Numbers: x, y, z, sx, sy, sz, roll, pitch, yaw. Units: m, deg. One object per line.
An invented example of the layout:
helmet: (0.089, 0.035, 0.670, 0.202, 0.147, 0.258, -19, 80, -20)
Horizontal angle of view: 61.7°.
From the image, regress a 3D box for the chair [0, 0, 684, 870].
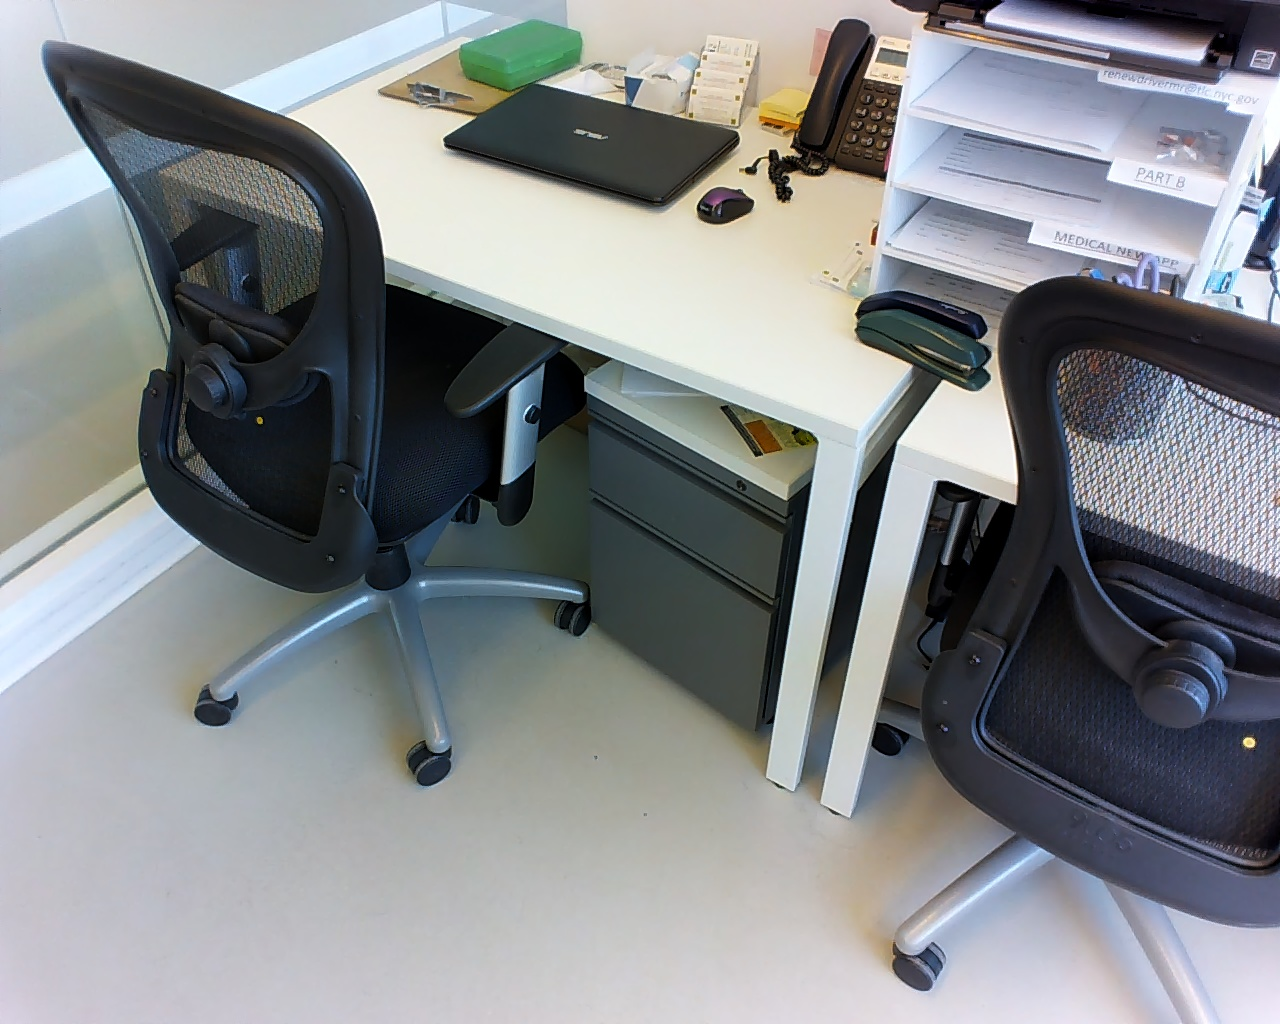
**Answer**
chair: (-0.430, -0.200, 1.610, 0.690, 1.100, 0.730, 23, 47, 23)

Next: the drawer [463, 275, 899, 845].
drawer: (0.060, 0.080, 1.620, 0.450, 0.680, 0.360, 21, 46, 22)

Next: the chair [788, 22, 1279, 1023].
chair: (0.650, 0.120, 1.280, 0.590, 1.060, 0.700, 24, 47, 24)
